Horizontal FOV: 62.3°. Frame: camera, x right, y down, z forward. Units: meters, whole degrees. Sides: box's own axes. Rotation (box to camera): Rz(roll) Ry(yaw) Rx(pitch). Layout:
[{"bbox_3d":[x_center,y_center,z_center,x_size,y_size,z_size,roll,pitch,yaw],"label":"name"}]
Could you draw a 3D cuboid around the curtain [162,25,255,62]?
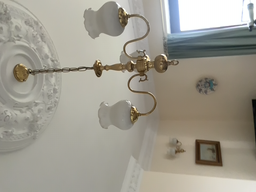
[{"bbox_3d":[1.620,-0.720,2.810,0.170,2.270,0.370,-63,-32,-55],"label":"curtain"}]
